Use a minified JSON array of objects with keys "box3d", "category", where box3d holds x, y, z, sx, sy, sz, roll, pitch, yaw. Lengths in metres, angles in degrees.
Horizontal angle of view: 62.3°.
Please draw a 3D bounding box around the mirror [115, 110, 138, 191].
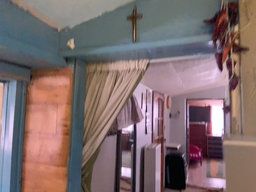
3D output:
[{"box3d":[0.000,0.800,2.390,0.120,1.270,0.670,0,-5,11],"category":"mirror"}]
